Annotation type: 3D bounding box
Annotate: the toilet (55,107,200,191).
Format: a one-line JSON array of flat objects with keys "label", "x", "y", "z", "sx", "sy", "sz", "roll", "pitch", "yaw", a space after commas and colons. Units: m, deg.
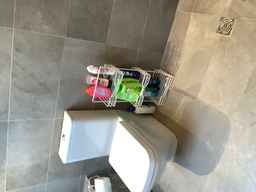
[{"label": "toilet", "x": -0.030, "y": 0.400, "z": 1.600, "sx": 0.640, "sy": 0.810, "sz": 0.400, "roll": 36, "pitch": 118, "yaw": 50}]
